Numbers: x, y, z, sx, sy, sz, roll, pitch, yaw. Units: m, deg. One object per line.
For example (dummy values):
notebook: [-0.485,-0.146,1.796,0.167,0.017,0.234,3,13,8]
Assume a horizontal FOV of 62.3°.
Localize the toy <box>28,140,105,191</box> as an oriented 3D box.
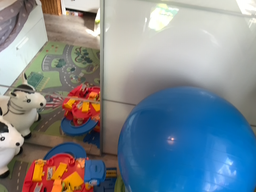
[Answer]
toy: [-0.370,0.570,1.300,0.330,0.250,0.460,13,45,4]
